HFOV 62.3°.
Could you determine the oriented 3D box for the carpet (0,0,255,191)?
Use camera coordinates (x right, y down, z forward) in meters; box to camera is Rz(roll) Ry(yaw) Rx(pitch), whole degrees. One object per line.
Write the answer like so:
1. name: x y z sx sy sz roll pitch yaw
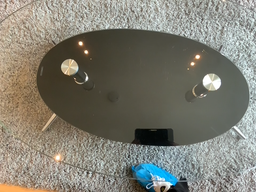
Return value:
1. carpet: -0.010 -0.100 1.100 1.780 0.060 1.250 8 81 4
